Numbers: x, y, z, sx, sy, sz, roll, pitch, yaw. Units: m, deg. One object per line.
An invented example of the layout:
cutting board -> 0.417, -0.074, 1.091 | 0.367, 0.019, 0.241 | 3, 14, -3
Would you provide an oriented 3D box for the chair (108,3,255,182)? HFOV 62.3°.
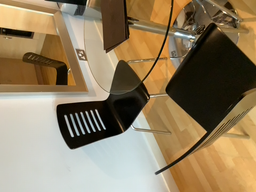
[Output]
chair -> 0.430, -0.030, 1.010 | 0.500, 0.830, 0.410 | 60, 136, 33
